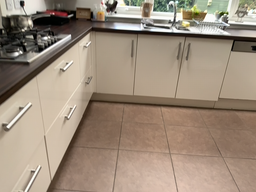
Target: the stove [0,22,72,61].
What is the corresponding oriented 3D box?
[{"bbox_3d":[-0.740,-0.380,1.370,0.550,0.050,0.730,4,27,0],"label":"stove"}]
